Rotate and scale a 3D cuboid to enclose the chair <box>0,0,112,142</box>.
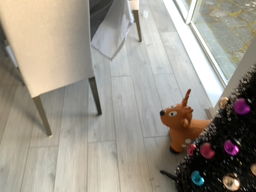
[{"bbox_3d":[-0.470,-0.330,1.300,0.510,1.050,0.630,-20,53,-19],"label":"chair"}]
